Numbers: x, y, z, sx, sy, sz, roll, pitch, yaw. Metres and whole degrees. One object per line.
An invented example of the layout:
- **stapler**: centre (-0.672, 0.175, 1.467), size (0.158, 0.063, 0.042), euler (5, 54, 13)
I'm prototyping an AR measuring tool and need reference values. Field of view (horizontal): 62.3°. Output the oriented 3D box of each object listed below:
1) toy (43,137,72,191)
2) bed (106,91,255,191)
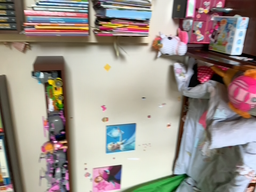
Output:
- **toy**: centre (-0.520, 0.610, 1.600), size (0.270, 0.170, 0.500), euler (-134, 44, -66)
- **bed**: centre (0.460, 0.730, 1.640), size (0.850, 1.100, 1.280), euler (-127, 37, -63)
